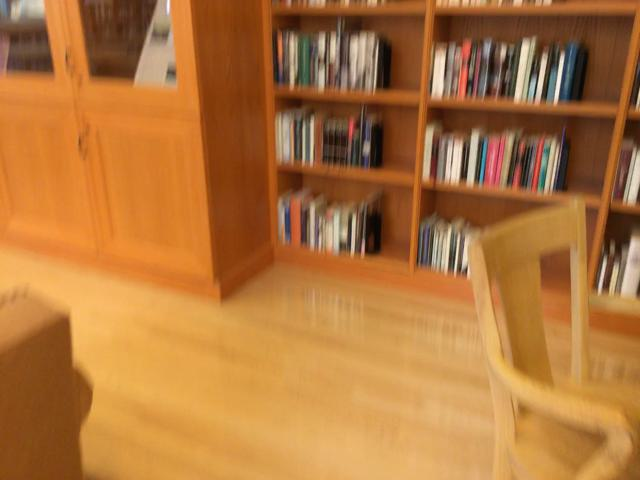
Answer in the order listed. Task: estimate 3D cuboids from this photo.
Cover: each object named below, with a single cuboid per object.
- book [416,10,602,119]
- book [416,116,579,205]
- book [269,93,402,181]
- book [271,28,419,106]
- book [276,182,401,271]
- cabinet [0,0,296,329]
[{"bbox_3d":[0.800,-0.770,2.490,0.680,0.400,0.300,10,24,26],"label":"book"},{"bbox_3d":[0.800,-0.380,2.640,0.640,0.290,0.290,10,24,27],"label":"book"},{"bbox_3d":[0.080,-0.540,2.940,0.580,0.340,0.330,10,24,27],"label":"book"},{"bbox_3d":[0.120,-0.850,2.800,0.620,0.320,0.320,10,24,26],"label":"book"},{"bbox_3d":[0.100,-0.090,3.110,0.570,0.310,0.330,10,24,27],"label":"book"},{"bbox_3d":[-1.090,-0.870,2.910,1.680,2.130,0.840,10,24,27],"label":"cabinet"}]
